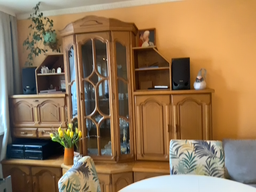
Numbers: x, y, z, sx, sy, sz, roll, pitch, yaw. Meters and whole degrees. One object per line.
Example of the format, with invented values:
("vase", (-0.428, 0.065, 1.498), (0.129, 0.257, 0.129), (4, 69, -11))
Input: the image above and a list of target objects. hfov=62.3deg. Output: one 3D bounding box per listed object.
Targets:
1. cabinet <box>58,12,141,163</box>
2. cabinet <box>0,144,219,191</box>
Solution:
("cabinet", (-0.330, -0.090, 2.710), (0.870, 1.700, 0.450), (-1, 4, 14))
("cabinet", (-0.320, 1.040, 2.700), (2.650, 0.560, 0.630), (-1, 4, 14))
